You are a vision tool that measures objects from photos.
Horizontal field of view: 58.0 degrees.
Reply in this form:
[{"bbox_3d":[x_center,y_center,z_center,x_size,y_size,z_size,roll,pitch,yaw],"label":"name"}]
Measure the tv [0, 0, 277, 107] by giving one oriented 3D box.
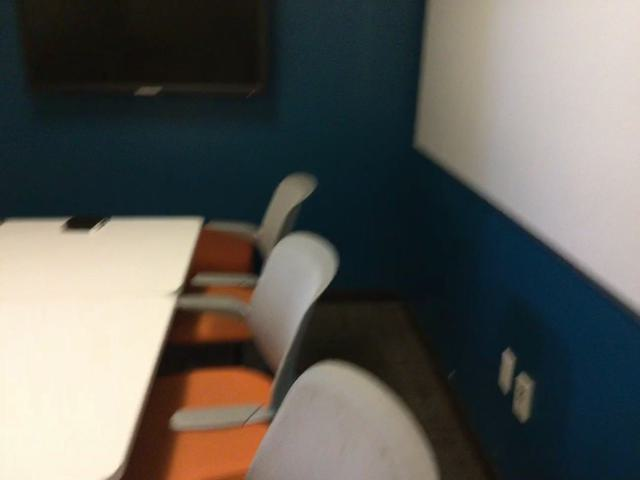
[{"bbox_3d":[-0.820,-0.970,2.640,1.230,0.640,0.230,1,18,-5],"label":"tv"}]
